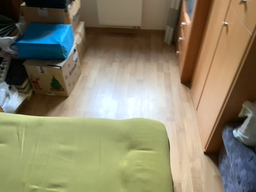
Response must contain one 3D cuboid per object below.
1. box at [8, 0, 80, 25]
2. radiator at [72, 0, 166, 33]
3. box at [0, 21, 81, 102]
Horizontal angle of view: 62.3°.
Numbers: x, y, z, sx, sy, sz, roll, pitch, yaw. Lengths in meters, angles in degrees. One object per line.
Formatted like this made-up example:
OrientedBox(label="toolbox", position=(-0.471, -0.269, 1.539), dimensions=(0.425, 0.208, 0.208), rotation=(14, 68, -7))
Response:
OrientedBox(label="box", position=(-0.720, -0.930, 1.970), dimensions=(0.470, 0.230, 0.720), rotation=(-3, 43, -4))
OrientedBox(label="radiator", position=(-0.100, -1.060, 2.340), dimensions=(1.020, 0.650, 0.150), rotation=(5, 43, 4))
OrientedBox(label="box", position=(-0.670, -0.290, 1.780), dimensions=(0.440, 0.510, 0.410), rotation=(-3, 43, -4))
